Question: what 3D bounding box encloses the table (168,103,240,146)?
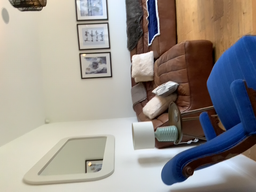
[{"bbox_3d":[0.720,0.260,2.080,0.330,0.570,0.340,-172,79,-86],"label":"table"}]
